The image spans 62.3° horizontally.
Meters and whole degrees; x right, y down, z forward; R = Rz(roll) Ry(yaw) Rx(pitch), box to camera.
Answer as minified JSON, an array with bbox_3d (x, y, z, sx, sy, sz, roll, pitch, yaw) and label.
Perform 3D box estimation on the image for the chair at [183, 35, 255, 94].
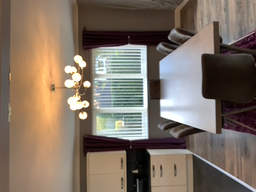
[{"bbox_3d":[1.030,-0.250,1.910,0.540,0.890,0.420,160,109,-83],"label":"chair"}]

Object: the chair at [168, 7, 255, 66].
[{"bbox_3d":[0.970,-0.660,2.460,0.420,0.910,0.540,164,106,-84],"label":"chair"}]
